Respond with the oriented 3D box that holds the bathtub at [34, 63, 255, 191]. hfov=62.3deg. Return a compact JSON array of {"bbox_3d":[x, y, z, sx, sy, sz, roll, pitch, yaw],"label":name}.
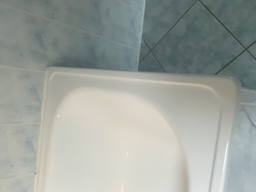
[{"bbox_3d":[0.020,0.780,0.860,0.700,0.550,1.720,10,95,40],"label":"bathtub"}]
